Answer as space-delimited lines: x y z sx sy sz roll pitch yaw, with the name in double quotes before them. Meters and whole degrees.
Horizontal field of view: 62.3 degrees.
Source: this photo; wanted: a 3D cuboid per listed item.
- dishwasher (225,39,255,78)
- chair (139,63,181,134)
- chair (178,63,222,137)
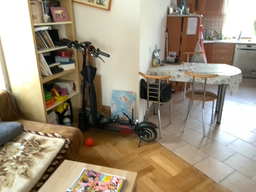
"dishwasher" 2.890 -0.960 5.380 0.590 0.840 0.590 7 22 17
"chair" 0.430 0.010 2.890 0.430 0.810 0.460 8 22 19
"chair" 0.950 0.030 2.830 0.430 0.810 0.480 8 22 19
